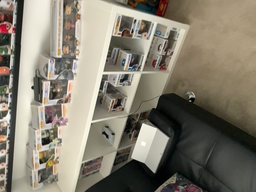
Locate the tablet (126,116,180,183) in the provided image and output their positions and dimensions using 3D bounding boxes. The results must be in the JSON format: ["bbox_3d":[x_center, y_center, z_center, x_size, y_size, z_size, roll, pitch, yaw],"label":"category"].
[{"bbox_3d":[0.160,0.360,1.470,0.230,0.160,0.360,35,119,38],"label":"tablet"}]
